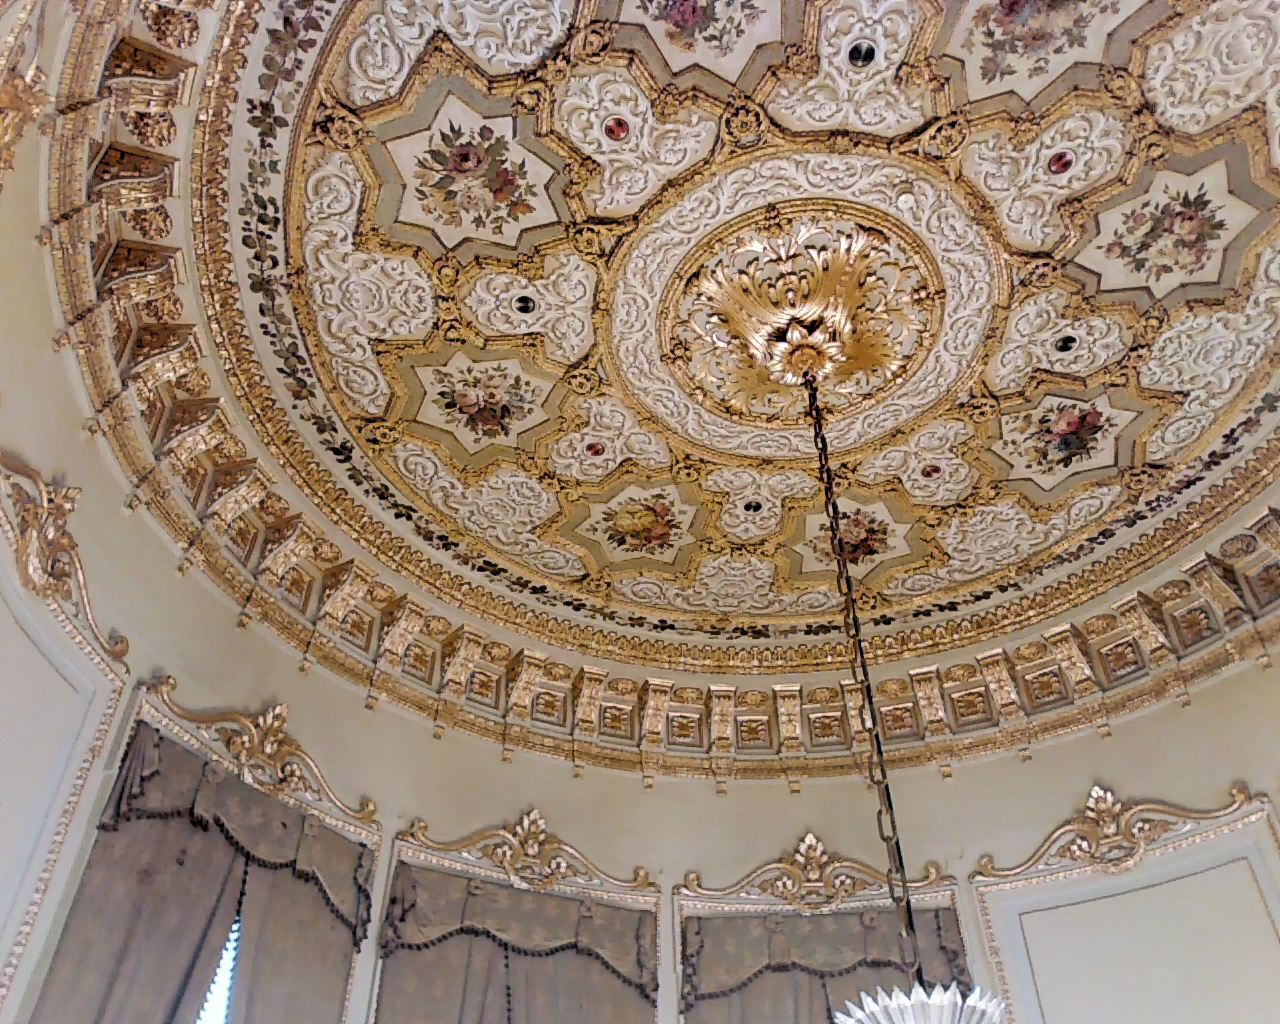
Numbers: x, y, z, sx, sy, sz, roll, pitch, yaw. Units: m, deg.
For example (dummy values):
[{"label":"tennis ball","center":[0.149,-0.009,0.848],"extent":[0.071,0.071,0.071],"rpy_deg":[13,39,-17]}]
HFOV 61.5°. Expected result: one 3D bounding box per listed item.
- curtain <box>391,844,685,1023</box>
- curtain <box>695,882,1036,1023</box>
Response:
[{"label":"curtain","center":[-0.540,3.563,5.480],"extent":[1.719,3.501,0.140],"rpy_deg":[19,-44,-19]},{"label":"curtain","center":[1.299,3.793,5.600],"extent":[1.919,3.641,0.160],"rpy_deg":[-6,-42,7]}]
